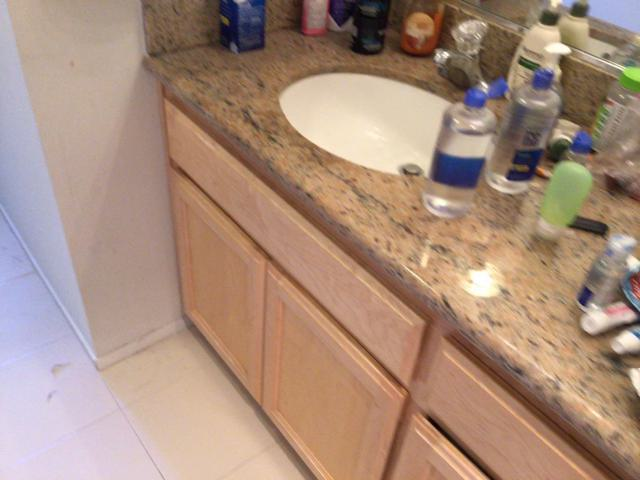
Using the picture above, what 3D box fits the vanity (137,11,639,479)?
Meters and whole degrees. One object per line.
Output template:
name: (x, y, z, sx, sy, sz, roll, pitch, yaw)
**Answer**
vanity: (0.230, 0.170, 1.170, 0.590, 0.770, 1.240, -25, 48, -30)
